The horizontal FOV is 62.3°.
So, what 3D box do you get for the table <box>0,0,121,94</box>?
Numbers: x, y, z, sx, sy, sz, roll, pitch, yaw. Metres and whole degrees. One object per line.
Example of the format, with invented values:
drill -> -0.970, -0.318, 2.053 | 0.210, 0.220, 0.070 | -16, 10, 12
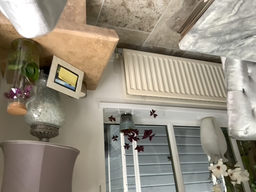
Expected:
table -> -0.460, -0.410, 1.370 | 0.620, 0.520, 0.640 | 4, 154, -20
